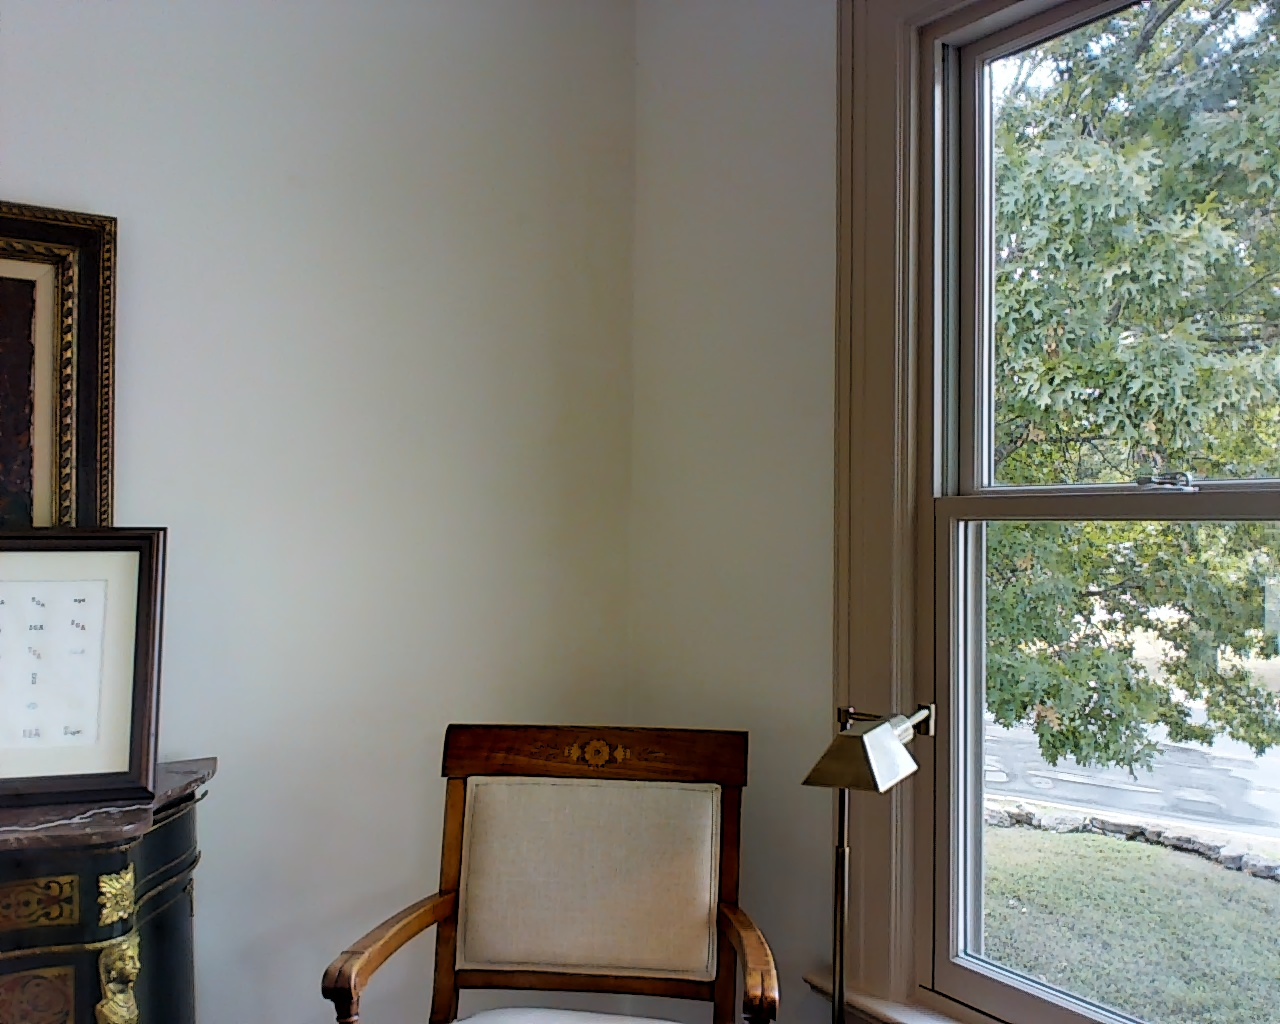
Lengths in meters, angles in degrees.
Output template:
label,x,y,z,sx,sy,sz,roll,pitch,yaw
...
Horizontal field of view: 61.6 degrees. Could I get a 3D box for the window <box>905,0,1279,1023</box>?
label,x,y,z,sx,sy,sz,roll,pitch,yaw
window,0.690,-0.010,1.420,0.140,1.520,0.750,0,0,-35
